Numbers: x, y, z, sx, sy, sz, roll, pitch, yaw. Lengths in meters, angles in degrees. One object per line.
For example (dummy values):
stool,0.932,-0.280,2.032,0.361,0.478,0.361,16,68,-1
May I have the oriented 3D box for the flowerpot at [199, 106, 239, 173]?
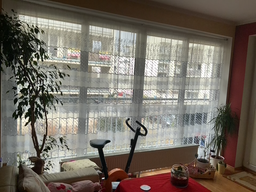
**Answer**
flowerpot,1.620,0.770,3.820,0.450,1.120,0.330,2,6,-15
